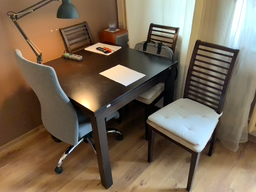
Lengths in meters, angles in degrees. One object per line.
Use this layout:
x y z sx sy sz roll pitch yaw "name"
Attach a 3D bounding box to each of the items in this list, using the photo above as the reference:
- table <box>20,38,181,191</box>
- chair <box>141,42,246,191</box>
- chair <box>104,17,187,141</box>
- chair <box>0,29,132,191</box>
-0.220 0.050 1.950 0.950 0.750 0.930 -30 42 -35 "table"
0.440 0.150 1.610 0.460 0.910 0.500 26 43 36 "chair"
0.170 -0.170 2.040 0.460 0.980 0.530 24 41 34 "chair"
-0.420 0.080 1.700 0.650 0.980 0.600 27 43 37 "chair"
